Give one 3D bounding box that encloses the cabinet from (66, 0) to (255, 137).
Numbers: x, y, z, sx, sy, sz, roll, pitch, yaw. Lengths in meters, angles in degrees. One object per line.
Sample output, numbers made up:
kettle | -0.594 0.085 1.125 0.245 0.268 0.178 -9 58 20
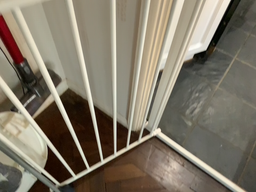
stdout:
cabinet | 0.170 -0.380 0.960 0.600 0.900 0.600 33 61 16
